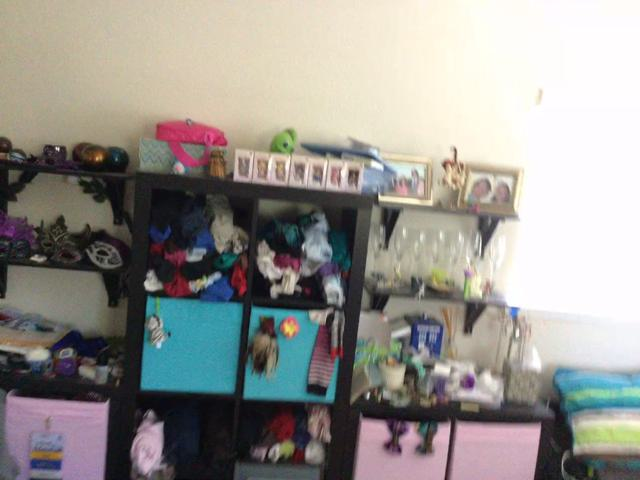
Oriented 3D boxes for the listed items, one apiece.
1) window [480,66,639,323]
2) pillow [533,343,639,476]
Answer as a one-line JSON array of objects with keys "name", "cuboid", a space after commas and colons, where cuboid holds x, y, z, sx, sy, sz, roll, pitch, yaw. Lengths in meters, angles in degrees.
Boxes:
[{"name": "window", "cuboid": [1.120, -0.170, 2.430, 0.710, 0.960, 0.250, 6, 3, -5]}, {"name": "pillow", "cuboid": [1.300, 0.660, 2.270, 0.680, 0.330, 0.520, 6, 3, -5]}]
